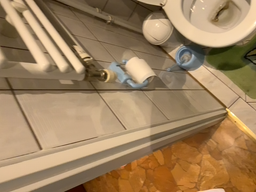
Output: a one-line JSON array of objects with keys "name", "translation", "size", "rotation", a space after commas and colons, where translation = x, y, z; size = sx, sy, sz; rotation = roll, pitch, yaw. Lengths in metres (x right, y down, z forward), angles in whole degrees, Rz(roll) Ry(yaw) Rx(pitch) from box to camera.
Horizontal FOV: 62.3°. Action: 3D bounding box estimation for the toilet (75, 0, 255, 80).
[{"name": "toilet", "translation": [0.230, -0.490, 0.900], "size": [0.700, 0.910, 0.470], "rotation": [50, 119, 25]}]
